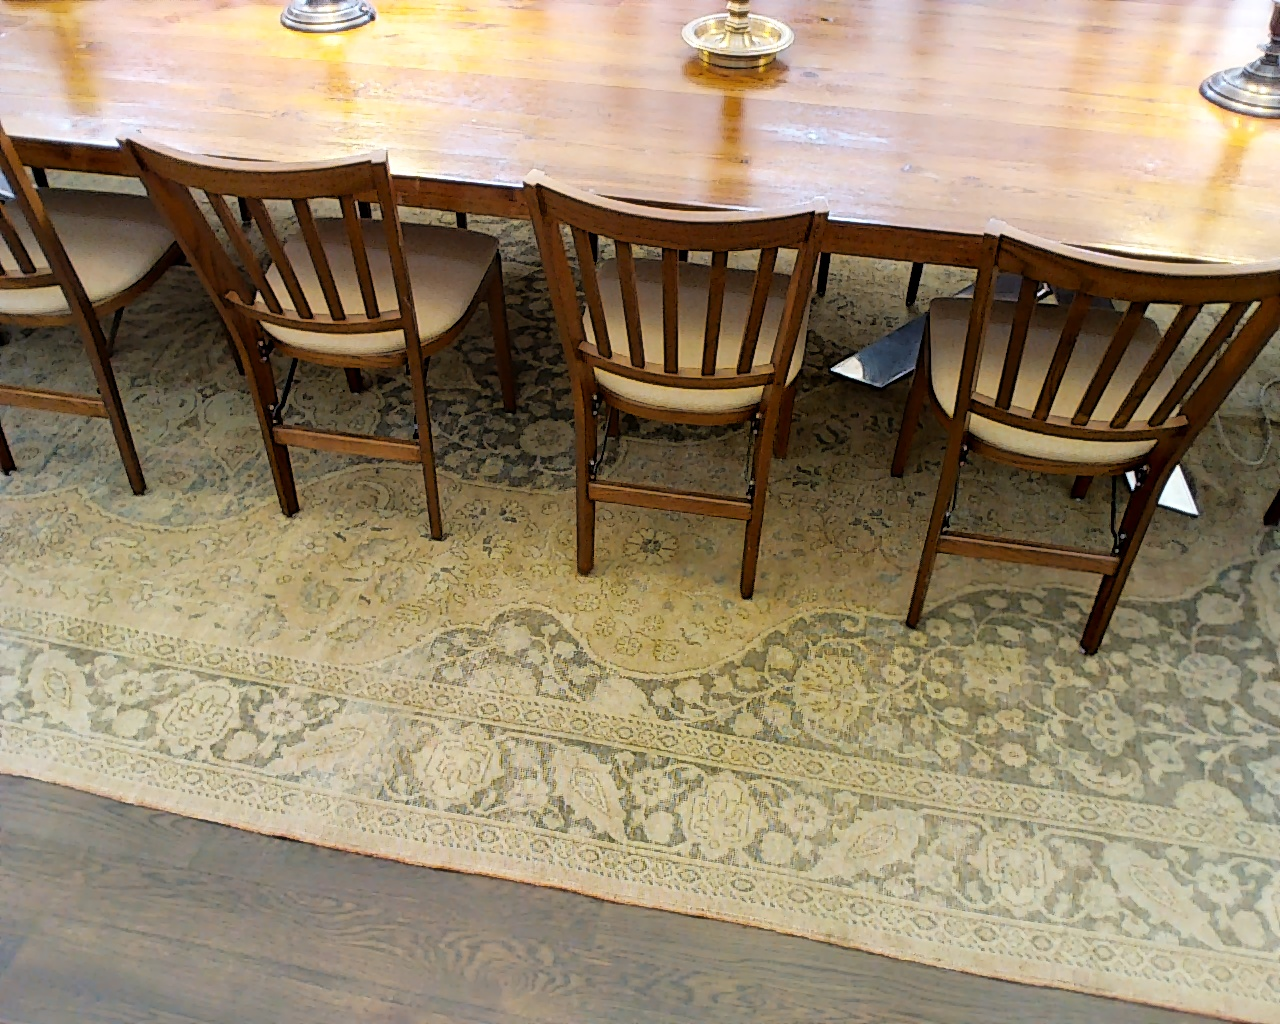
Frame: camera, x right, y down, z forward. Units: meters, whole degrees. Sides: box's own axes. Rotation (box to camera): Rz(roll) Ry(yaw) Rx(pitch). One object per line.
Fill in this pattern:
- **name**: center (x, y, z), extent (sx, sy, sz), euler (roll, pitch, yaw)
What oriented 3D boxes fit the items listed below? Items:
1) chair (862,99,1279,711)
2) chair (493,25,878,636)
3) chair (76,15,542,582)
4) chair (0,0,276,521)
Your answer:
- **chair**: center (0.710, -0.160, 1.810), extent (0.520, 0.850, 0.480), euler (8, 42, 8)
- **chair**: center (0.100, -0.320, 1.940), extent (0.500, 0.850, 0.600), euler (8, 42, 8)
- **chair**: center (-0.530, -0.390, 2.030), extent (0.520, 0.850, 0.530), euler (8, 42, 8)
- **chair**: center (-1.180, -0.520, 2.150), extent (0.490, 0.830, 0.600), euler (8, 42, 8)
